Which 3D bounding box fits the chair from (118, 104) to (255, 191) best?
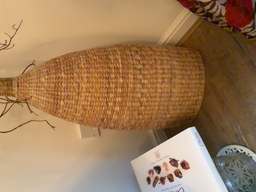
[{"bbox_3d":[0.240,0.270,0.780,0.430,0.330,0.300,-49,52,46],"label":"chair"}]
